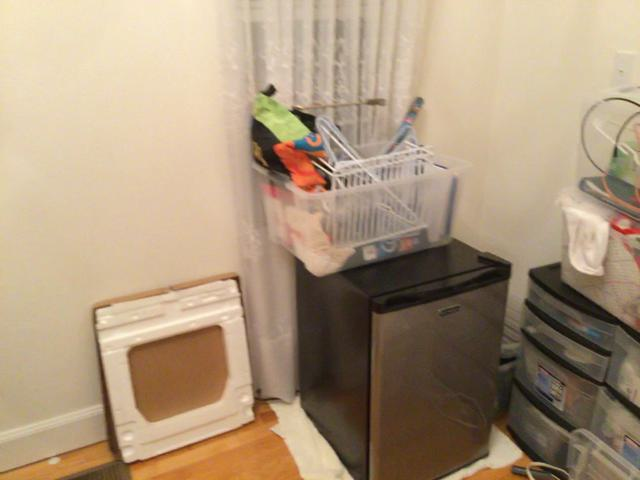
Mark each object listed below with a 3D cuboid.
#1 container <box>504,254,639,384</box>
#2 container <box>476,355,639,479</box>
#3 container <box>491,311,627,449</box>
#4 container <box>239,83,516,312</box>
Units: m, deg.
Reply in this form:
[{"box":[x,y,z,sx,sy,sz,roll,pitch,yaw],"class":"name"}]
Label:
[{"box":[0.750,0.210,1.660,0.220,0.200,0.350,-9,23,-25],"class":"container"},{"box":[0.710,0.580,1.780,0.150,0.220,0.470,-9,23,-25],"class":"container"},{"box":[0.690,0.400,1.720,0.090,0.220,0.380,-9,23,-25],"class":"container"},{"box":[0.130,-0.170,1.650,0.570,0.480,0.500,-9,23,-26],"class":"container"}]
